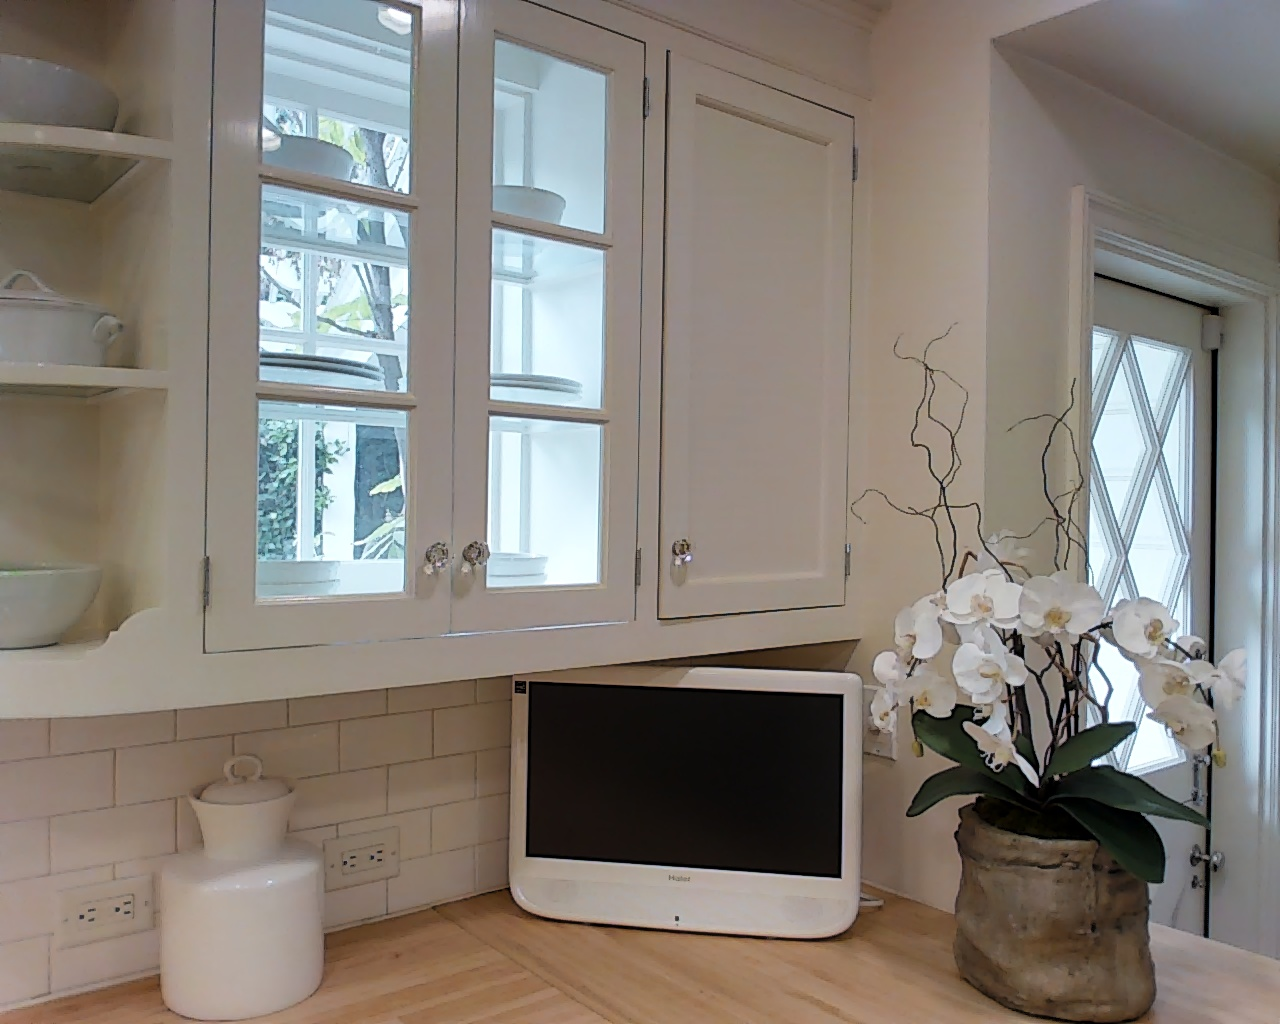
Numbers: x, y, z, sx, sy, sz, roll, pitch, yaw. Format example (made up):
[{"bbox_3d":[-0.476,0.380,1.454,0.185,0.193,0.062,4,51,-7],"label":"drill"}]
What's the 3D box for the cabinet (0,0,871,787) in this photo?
[{"bbox_3d":[-0.280,-0.300,1.490,1.430,1.120,0.330,0,1,-38],"label":"cabinet"}]
